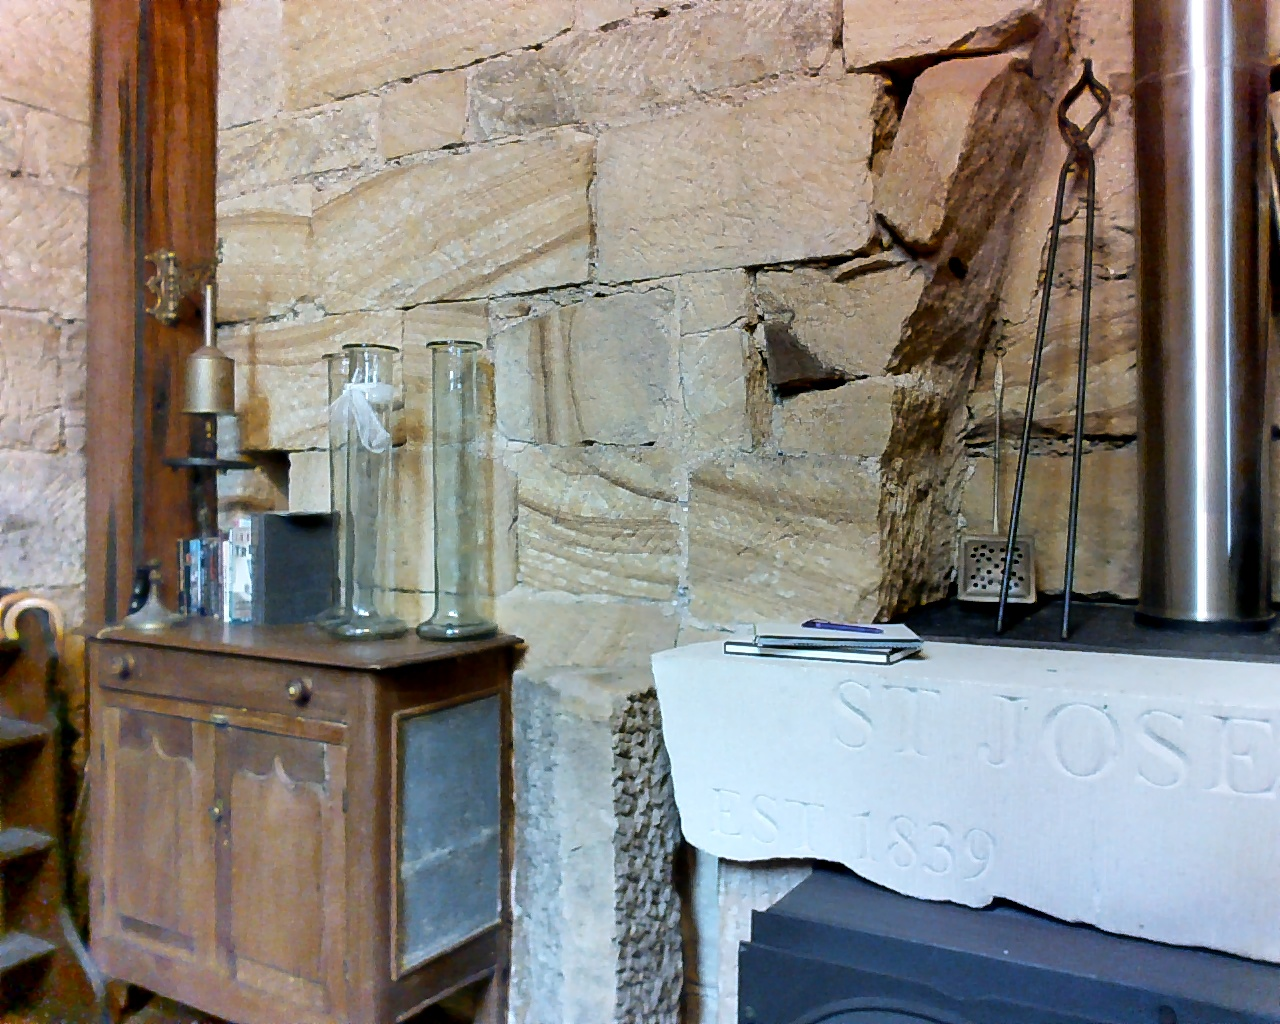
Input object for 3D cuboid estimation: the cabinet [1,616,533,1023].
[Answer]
[{"bbox_3d":[-0.820,0.690,2.280,1.170,0.850,0.400,0,0,30],"label":"cabinet"}]
